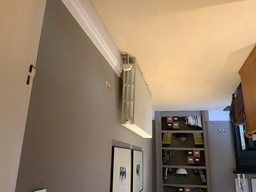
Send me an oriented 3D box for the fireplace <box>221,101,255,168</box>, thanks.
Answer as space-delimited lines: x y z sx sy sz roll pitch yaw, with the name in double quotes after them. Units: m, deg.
2.760 0.810 4.530 1.250 1.370 0.360 -2 164 11 "fireplace"
